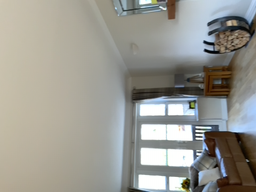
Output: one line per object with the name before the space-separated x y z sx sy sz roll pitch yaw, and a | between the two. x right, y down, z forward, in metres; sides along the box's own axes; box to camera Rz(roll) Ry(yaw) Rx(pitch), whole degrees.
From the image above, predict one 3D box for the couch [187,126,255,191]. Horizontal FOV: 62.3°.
couch | 1.460 1.350 3.490 1.580 0.830 0.980 -69 -25 -62
